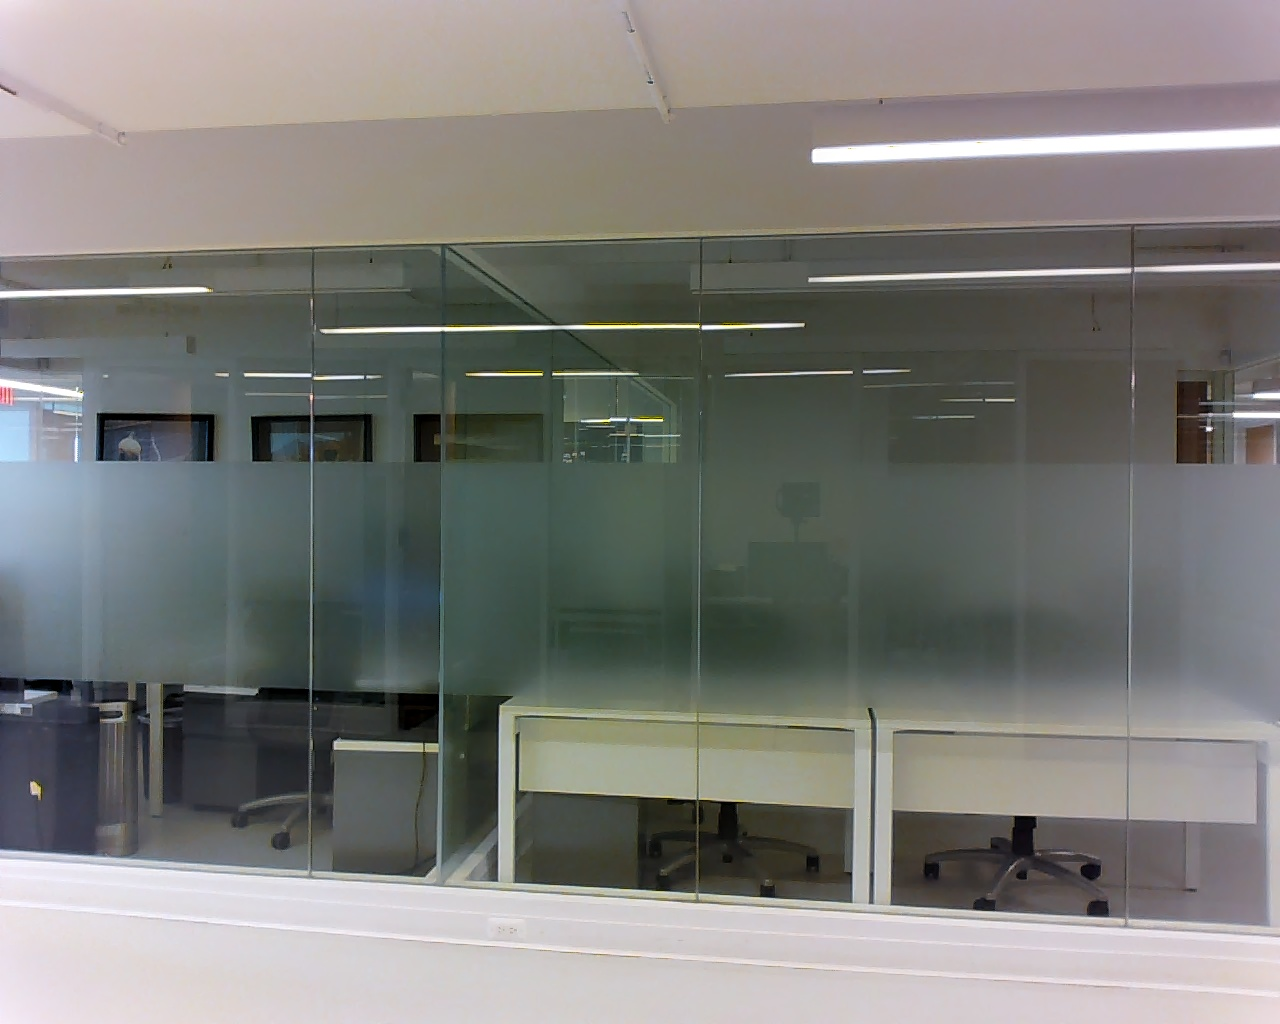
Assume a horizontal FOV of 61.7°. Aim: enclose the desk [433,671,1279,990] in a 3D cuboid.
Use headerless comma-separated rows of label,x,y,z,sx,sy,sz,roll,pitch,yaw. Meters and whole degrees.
desk,0.700,1.050,3.830,2.709,0.760,0.810,1,0,8
